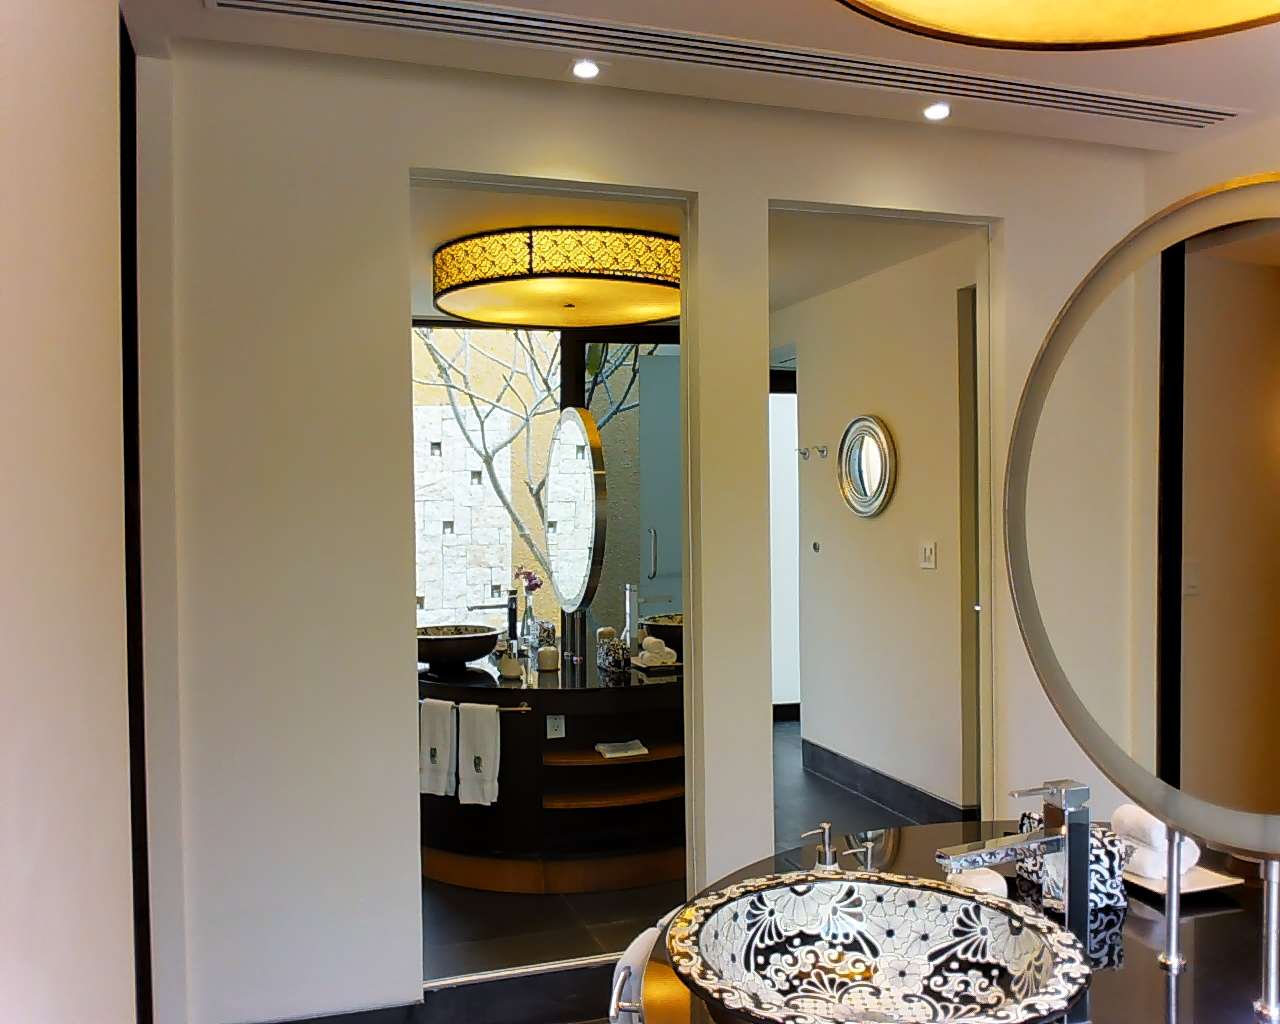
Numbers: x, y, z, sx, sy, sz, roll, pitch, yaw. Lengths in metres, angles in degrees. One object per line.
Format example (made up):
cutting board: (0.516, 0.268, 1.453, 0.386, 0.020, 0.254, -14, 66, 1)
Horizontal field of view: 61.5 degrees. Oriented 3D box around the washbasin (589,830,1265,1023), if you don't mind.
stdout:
washbasin: (0.290, 0.580, 1.300, 0.560, 0.160, 0.580, -1, 1, -19)
